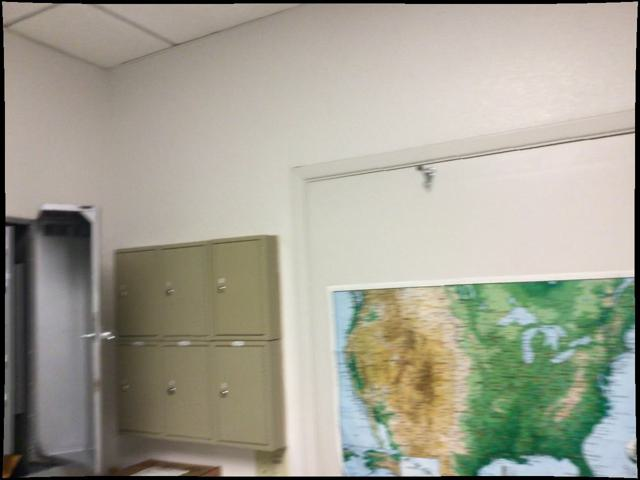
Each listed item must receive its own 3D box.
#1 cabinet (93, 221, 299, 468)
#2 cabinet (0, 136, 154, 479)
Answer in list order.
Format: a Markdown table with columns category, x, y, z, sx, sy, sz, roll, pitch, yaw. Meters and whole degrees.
| category | x | y | z | sx | sy | sz | roll | pitch | yaw |
| --- | --- | --- | --- | --- | --- | --- | --- | --- | --- |
| cabinet | -0.420 | 0.310 | 1.830 | 0.729 | 0.681 | 0.110 | -4 | -4 | 29 |
| cabinet | -0.869 | 0.230 | 1.380 | 0.480 | 0.881 | 0.780 | -4 | -4 | 29 |
